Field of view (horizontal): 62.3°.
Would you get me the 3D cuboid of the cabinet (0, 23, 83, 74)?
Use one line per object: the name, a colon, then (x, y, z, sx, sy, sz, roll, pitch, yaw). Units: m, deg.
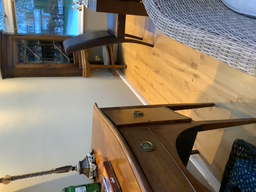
cabinet: (-1.200, -0.660, 2.980, 0.530, 1.020, 0.530, -127, 40, -57)
